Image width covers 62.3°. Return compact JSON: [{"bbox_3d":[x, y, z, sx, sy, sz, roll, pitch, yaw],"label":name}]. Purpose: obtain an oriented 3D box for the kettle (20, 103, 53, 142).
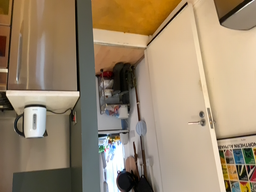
[{"bbox_3d":[-0.630,0.180,1.470,0.200,0.250,0.090,0,164,-21],"label":"kettle"}]
